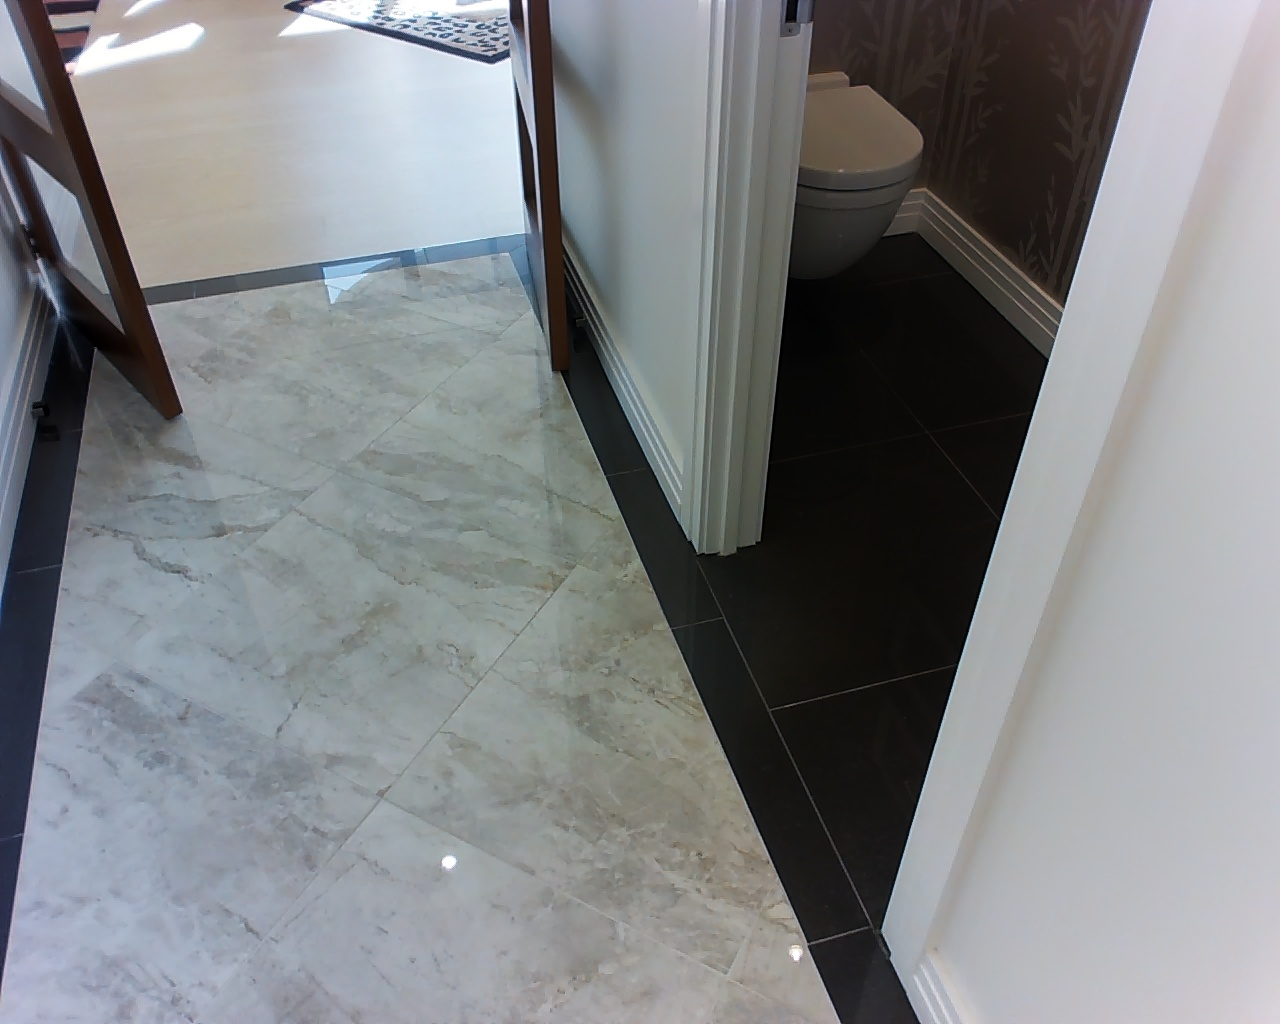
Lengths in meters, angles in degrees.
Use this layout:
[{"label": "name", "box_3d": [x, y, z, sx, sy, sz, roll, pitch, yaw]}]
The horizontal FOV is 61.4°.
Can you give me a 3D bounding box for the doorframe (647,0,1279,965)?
[{"label": "doorframe", "box_3d": [0.290, -0.580, 0.990, 0.320, 2.340, 0.870, -11, 43, -12]}]
